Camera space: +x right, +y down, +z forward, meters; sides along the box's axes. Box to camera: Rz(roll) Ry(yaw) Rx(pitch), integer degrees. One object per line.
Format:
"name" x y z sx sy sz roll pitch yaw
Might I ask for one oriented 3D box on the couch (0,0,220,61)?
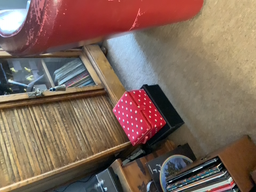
"couch" -0.130 -0.590 1.010 0.760 0.840 0.780 7 103 48

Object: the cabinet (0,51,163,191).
"cabinet" -0.500 0.160 1.320 0.800 1.200 0.420 59 135 22
